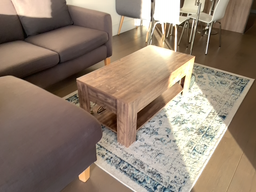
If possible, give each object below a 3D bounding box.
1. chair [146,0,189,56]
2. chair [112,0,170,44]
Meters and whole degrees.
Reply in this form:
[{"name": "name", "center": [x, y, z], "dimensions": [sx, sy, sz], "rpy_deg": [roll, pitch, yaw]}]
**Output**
[{"name": "chair", "center": [0.570, -1.100, 3.050], "dimensions": [0.370, 0.870, 0.470], "rpy_deg": [23, 39, 29]}, {"name": "chair", "center": [0.220, -1.520, 3.580], "dimensions": [0.710, 0.980, 0.690], "rpy_deg": [24, 39, 30]}]
